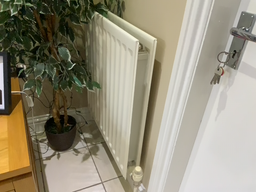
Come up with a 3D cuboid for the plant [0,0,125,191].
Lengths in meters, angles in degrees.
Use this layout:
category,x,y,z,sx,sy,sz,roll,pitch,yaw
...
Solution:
category,x,y,z,sx,sy,sz,roll,pitch,yaw
plant,-0.410,-0.140,1.090,0.550,1.120,0.540,-10,36,-25
